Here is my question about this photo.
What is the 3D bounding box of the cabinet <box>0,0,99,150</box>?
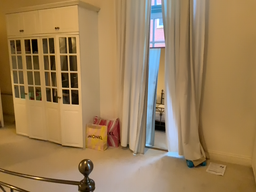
[{"bbox_3d":[-1.330,-0.350,3.630,1.560,2.190,0.530,5,11,25],"label":"cabinet"}]
